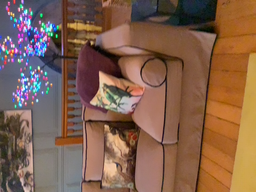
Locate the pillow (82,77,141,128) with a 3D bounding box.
[{"bbox_3d":[-0.140,0.050,1.780,0.110,0.360,0.420,50,126,18],"label":"pillow"}]
